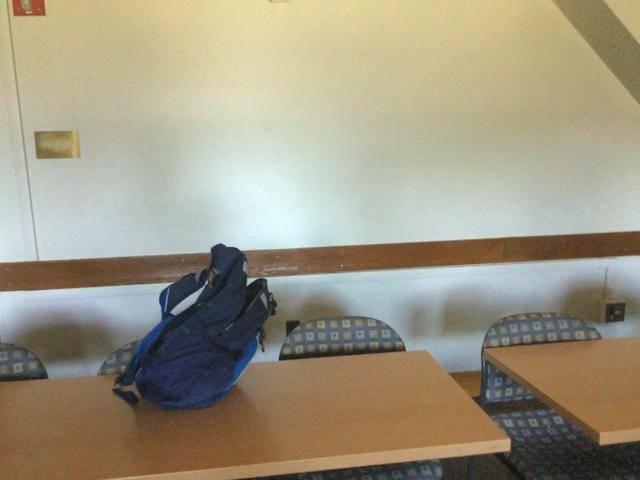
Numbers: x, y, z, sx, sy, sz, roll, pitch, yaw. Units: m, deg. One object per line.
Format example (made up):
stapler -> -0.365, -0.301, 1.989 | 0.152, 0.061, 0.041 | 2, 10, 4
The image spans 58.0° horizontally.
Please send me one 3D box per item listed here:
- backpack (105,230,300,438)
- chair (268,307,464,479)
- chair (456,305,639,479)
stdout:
backpack -> -0.340, 0.220, 1.610 | 0.420, 0.410, 0.410 | -7, 10, -23
chair -> 0.120, 0.630, 1.850 | 0.510, 0.670, 0.520 | -4, 9, -6
chair -> 0.770, 0.630, 1.820 | 0.500, 0.690, 0.540 | -4, 9, -6
